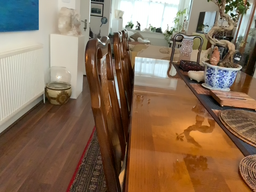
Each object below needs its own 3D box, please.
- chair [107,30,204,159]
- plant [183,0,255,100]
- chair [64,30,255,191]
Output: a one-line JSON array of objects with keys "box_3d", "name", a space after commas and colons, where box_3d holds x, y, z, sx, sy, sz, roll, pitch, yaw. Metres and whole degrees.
[{"box_3d": [0.200, -0.040, 1.990, 0.640, 1.020, 0.550, 7, 19, 0], "name": "chair"}, {"box_3d": [0.580, -0.340, 1.270, 0.320, 0.640, 0.280, 7, 19, 0], "name": "plant"}, {"box_3d": [0.140, 0.310, 0.890, 0.650, 1.040, 0.540, 7, 19, 0], "name": "chair"}]
